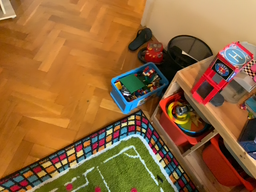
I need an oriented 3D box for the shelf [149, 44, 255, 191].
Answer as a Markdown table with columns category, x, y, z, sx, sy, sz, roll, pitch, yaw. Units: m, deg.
| category | x | y | z | sx | sy | sz | roll | pitch | yaw |
| --- | --- | --- | --- | --- | --- | --- | --- | --- | --- |
| shelf | 0.620 | 0.300 | 1.130 | 0.430 | 0.530 | 0.960 | -24 | 67 | -24 |
